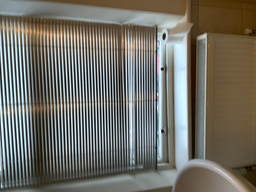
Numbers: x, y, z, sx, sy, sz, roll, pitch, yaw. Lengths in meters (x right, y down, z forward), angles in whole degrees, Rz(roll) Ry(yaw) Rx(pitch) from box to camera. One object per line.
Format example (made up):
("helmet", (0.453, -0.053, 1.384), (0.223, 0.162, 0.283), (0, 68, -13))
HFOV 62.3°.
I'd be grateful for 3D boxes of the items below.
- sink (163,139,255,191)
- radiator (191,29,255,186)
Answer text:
("sink", (0.380, 0.490, 0.830), (0.630, 0.200, 0.470), (-170, 79, -71))
("radiator", (0.660, 0.060, 1.270), (0.160, 0.520, 0.830), (-166, 76, -70))
